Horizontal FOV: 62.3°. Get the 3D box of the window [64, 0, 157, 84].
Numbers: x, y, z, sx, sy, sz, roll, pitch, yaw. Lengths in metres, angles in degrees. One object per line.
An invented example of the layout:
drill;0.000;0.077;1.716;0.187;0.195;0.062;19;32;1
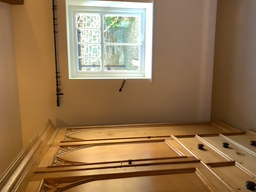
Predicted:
window;-0.250;-0.800;2.990;0.530;1.170;1.200;-138;48;-77
